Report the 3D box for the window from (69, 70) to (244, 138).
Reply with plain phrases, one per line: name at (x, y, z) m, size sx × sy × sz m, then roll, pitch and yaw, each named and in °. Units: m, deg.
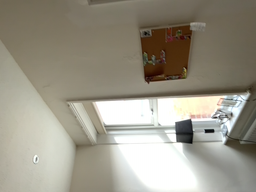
window at (0.340, 0.180, 2.790) m, size 1.080 × 1.890 × 0.200 m, roll 78°, pitch -170°, yaw -52°
